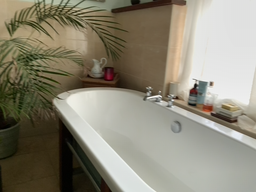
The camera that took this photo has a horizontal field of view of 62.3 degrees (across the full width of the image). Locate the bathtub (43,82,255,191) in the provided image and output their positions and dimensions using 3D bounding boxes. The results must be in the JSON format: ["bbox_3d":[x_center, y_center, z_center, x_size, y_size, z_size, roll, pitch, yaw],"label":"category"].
[{"bbox_3d":[0.060,0.410,1.320,0.800,0.610,1.680,-6,18,-30],"label":"bathtub"}]

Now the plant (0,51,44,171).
[{"bbox_3d":[-1.120,0.090,1.710,0.720,0.850,0.560,-5,17,-28],"label":"plant"}]
